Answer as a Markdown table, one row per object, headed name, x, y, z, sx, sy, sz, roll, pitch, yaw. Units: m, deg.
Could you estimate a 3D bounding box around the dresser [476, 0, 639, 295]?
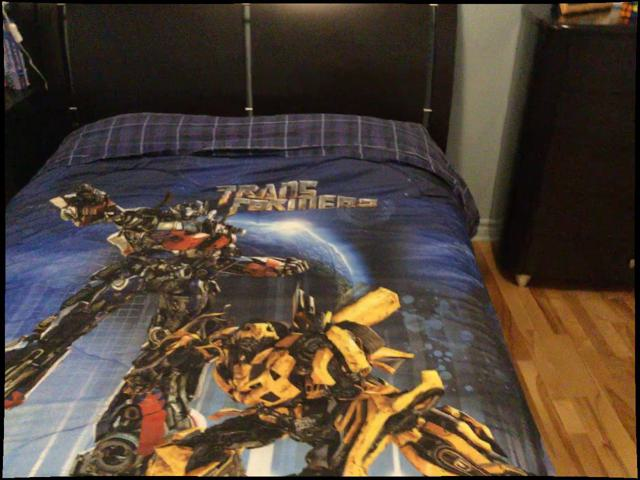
| name | x | y | z | sx | sy | sz | roll | pitch | yaw |
| --- | --- | --- | --- | --- | --- | --- | --- | --- | --- |
| dresser | 1.129 | -0.330 | 2.100 | 0.909 | 0.981 | 0.420 | -1 | 32 | 0 |
